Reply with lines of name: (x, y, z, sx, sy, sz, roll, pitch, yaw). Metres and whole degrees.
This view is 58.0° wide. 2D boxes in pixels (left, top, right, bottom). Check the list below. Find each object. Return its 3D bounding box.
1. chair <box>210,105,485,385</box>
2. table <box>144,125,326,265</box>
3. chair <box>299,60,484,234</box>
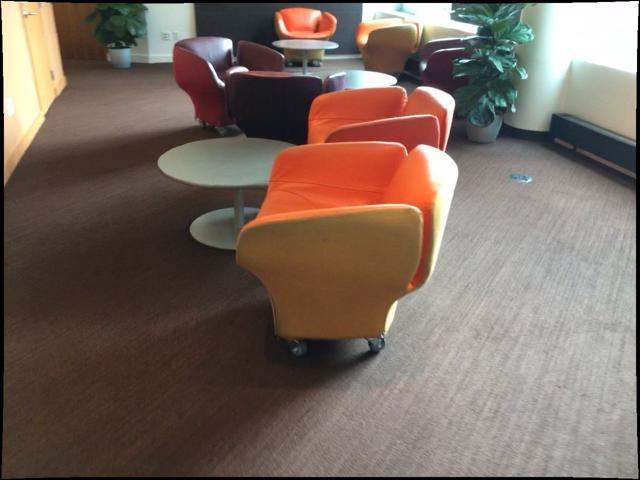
chair: (0.090, -0.040, 2.470, 0.888, 0.802, 0.960, 3, 27, 1)
table: (-0.489, -0.311, 3.400, 0.898, 0.481, 0.940, -2, 27, -8)
chair: (0.359, -0.611, 3.560, 0.858, 0.802, 0.920, -2, 27, -8)
